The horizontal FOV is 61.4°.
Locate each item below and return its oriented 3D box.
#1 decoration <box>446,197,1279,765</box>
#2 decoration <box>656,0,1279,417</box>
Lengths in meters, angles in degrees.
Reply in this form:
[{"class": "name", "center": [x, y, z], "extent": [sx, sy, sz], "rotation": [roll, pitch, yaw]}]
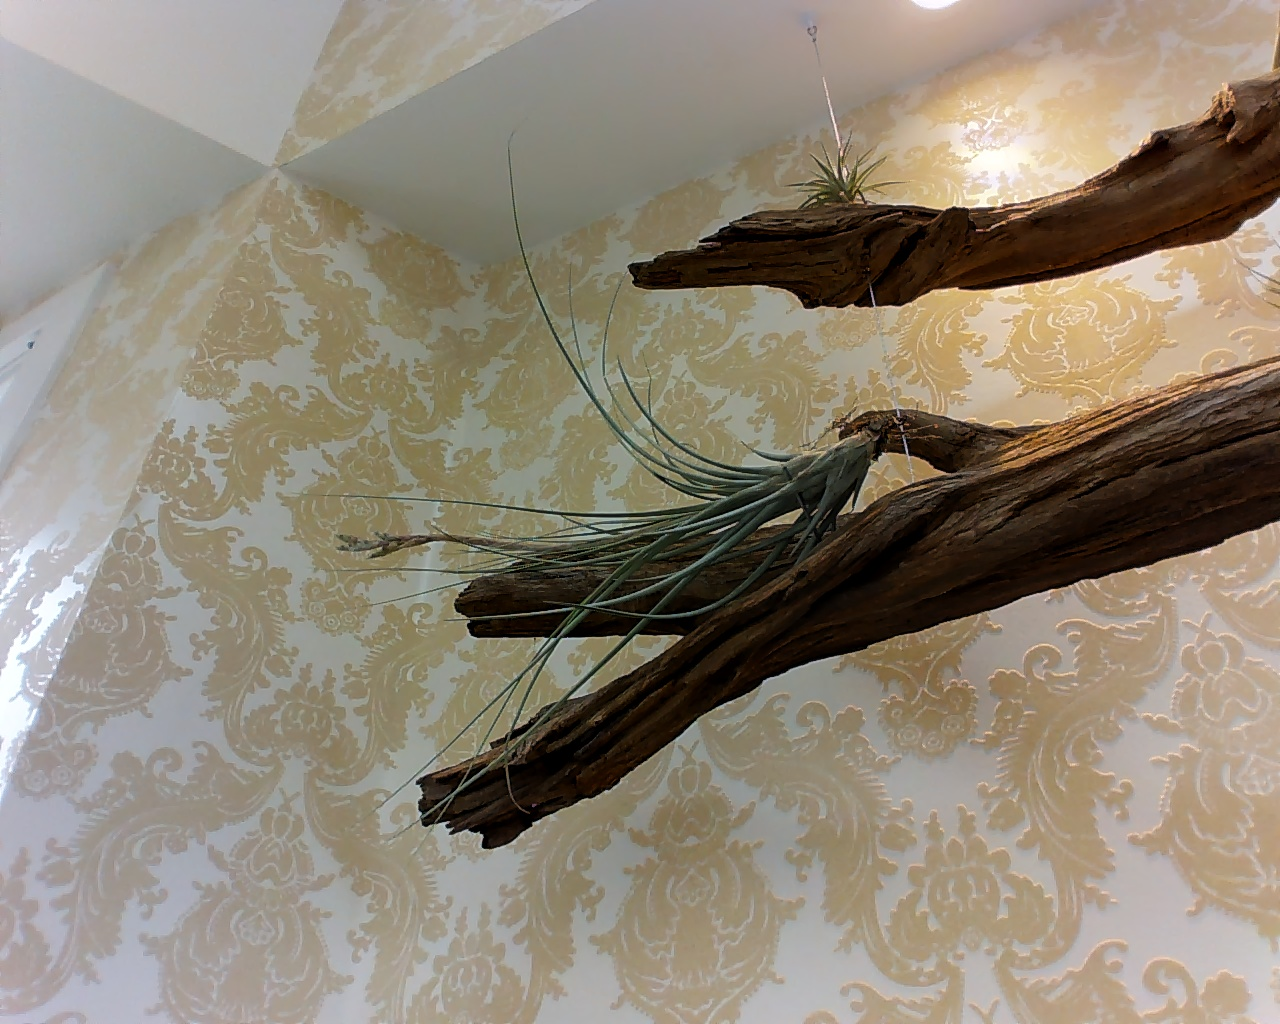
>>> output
[{"class": "decoration", "center": [0.410, -0.070, 0.790], "extent": [1.180, 0.220, 0.160], "rotation": [-18, -45, 20]}, {"class": "decoration", "center": [0.410, -0.310, 1.030], "extent": [0.800, 0.090, 0.170], "rotation": [-19, -46, 21]}]
